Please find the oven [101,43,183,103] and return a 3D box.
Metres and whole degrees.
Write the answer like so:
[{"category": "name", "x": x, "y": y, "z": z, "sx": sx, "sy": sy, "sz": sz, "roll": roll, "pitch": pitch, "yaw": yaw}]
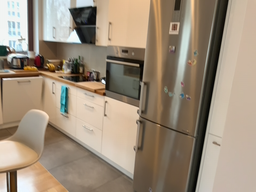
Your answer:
[{"category": "oven", "x": 0.150, "y": -0.300, "z": 2.460, "sx": 0.660, "sy": 0.530, "sz": 0.610, "roll": 17, "pitch": 18, "yaw": 41}]
